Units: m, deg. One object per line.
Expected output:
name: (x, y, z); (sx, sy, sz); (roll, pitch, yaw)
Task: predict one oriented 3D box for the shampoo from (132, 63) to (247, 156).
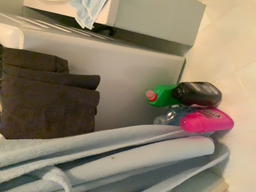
shampoo: (0.250, 0.030, 0.880); (0.290, 0.300, 0.240); (30, 113, 40)
